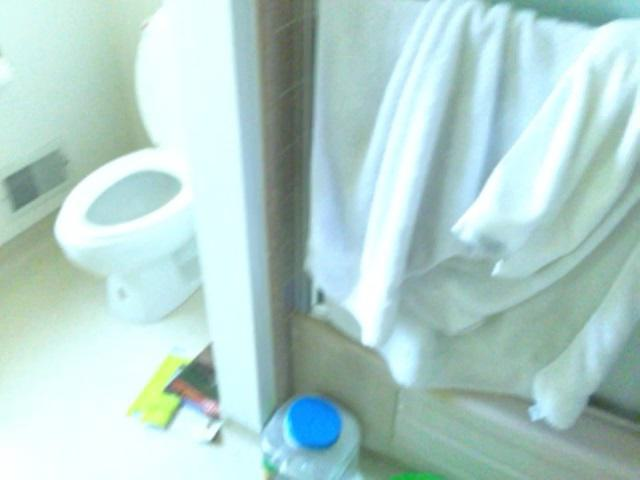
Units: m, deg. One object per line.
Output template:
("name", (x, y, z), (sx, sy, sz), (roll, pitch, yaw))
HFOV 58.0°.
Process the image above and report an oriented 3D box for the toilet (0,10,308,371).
("toilet", (-0.430, -0.190, 1.800), (0.460, 0.770, 0.750), (18, 41, 23))
